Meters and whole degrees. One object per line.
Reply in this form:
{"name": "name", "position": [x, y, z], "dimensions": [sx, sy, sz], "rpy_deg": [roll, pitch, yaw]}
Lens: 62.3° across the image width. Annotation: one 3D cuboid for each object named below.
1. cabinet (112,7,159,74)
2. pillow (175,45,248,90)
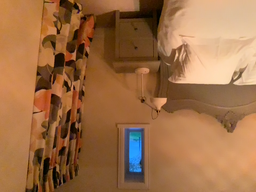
{"name": "cabinet", "position": [0.090, -0.660, 2.610], "dimensions": [0.510, 0.650, 0.450], "rpy_deg": [2, 170, 1]}
{"name": "pillow", "position": [0.810, -0.270, 2.220], "dimensions": [0.510, 0.270, 0.660], "rpy_deg": [1, 170, 2]}
